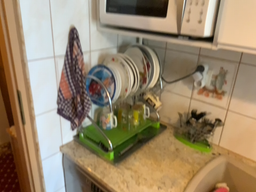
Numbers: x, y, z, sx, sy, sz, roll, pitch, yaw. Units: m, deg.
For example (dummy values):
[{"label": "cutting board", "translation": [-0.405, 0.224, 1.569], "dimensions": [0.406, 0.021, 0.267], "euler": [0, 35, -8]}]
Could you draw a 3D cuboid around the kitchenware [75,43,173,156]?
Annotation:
[{"label": "kitchenware", "translation": [-0.010, -0.020, 1.160], "dimensions": [0.270, 0.440, 0.460], "euler": [20, 29, 33]}]

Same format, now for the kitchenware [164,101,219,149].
[{"label": "kitchenware", "translation": [0.350, 0.160, 1.210], "dimensions": [0.270, 0.170, 0.070], "euler": [21, 29, 34]}]
